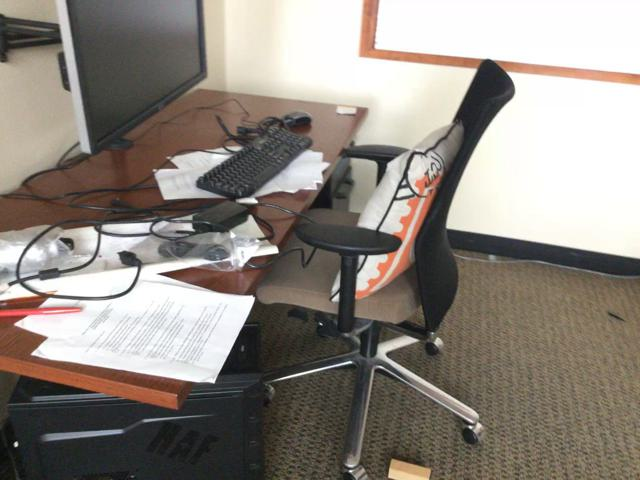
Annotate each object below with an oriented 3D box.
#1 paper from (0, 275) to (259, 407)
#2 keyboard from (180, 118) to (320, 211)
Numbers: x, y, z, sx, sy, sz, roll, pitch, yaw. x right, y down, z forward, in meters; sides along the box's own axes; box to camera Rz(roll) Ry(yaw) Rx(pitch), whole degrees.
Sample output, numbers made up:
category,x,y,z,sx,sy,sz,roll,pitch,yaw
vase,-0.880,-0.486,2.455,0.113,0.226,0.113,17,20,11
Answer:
category,x,y,z,sx,sy,sz,roll,pitch,yaw
paper,-0.300,0.150,0.940,0.340,0.030,0.230,7,28,13
keyboard,-0.160,-0.220,1.540,0.200,0.060,0.520,7,28,13
